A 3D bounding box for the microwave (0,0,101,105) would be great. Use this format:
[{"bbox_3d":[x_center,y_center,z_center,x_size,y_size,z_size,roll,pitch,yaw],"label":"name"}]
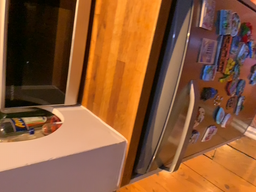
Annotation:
[{"bbox_3d":[-0.310,-0.250,0.710,0.340,0.260,0.450,27,112,43],"label":"microwave"}]
